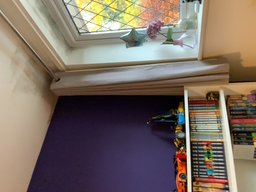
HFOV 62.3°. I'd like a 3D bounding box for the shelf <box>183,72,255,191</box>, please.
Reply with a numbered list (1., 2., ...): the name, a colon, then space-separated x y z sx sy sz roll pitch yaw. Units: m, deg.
1. shelf: 0.890 0.300 1.310 0.350 1.040 0.870 69 -156 -55
